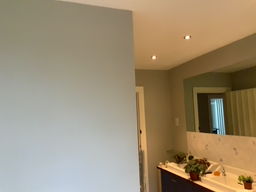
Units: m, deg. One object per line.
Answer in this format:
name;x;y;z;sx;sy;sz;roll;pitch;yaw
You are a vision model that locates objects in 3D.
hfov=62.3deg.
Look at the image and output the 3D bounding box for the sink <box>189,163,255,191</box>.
sink;1.120;1.000;2.430;0.450;0.260;0.730;0;-6;-21
